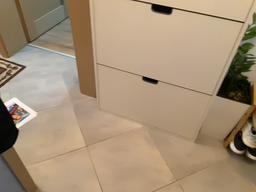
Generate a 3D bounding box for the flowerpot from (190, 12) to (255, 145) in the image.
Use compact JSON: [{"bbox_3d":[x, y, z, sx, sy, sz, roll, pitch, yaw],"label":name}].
[{"bbox_3d":[0.650,-0.060,1.350,0.250,0.820,0.250,17,45,12],"label":"flowerpot"}]
